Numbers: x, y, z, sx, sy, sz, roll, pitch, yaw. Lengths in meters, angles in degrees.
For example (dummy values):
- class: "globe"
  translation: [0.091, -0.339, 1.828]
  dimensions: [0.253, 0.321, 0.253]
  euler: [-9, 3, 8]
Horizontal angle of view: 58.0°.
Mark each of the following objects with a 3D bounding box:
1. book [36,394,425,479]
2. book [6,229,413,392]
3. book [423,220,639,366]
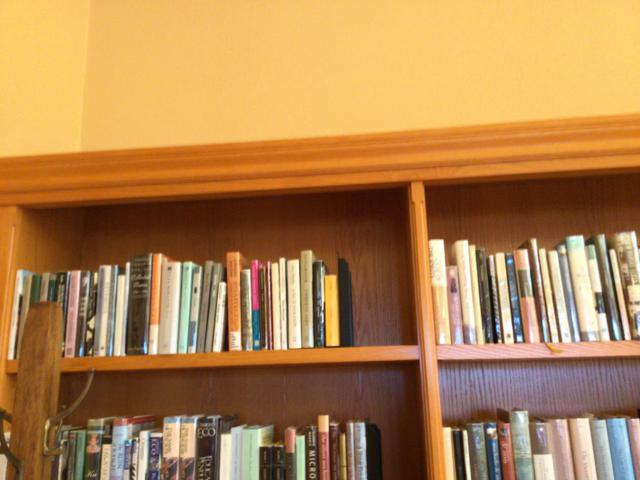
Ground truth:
- class: "book"
  translation: [-0.190, 0.540, 1.290]
  dimensions: [0.830, 0.320, 0.180]
  euler: [-5, -15, 5]
- class: "book"
  translation: [-0.260, 0.170, 1.340]
  dimensions: [0.910, 0.290, 0.090]
  euler: [-5, -15, 5]
- class: "book"
  translation: [0.680, 0.100, 1.250]
  dimensions: [0.870, 0.270, 0.090]
  euler: [-5, -15, 5]
